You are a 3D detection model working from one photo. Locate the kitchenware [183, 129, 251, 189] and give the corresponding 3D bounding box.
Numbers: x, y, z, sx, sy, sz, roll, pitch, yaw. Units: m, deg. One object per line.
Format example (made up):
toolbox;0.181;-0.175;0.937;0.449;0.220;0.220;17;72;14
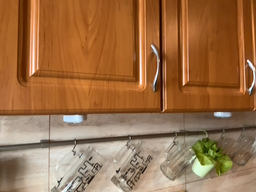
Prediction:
kitchenware;0.410;0.270;0.970;0.290;0.210;0.130;2;-3;-29
